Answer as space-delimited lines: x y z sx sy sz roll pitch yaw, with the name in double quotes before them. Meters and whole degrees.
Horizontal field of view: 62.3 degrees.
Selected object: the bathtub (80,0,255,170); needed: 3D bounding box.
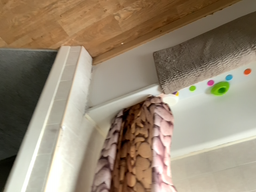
"bathtub" 0.620 -0.140 1.330 1.640 0.560 0.680 -20 131 15
